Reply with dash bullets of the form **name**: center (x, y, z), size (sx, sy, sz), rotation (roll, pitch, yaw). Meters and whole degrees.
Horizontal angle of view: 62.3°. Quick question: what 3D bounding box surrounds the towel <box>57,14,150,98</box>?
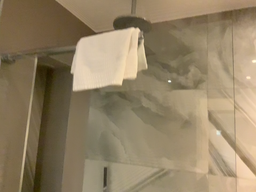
- **towel**: center (-0.070, -0.110, 0.710), size (0.230, 0.210, 0.190), rotation (0, -9, 24)
